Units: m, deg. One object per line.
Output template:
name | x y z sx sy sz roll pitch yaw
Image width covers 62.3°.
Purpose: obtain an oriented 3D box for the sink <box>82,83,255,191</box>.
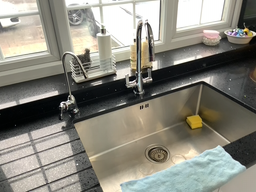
sink | 0.180 0.200 0.920 0.640 0.250 0.350 -16 34 -22
